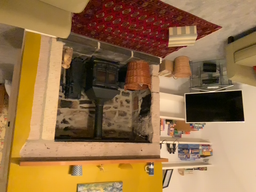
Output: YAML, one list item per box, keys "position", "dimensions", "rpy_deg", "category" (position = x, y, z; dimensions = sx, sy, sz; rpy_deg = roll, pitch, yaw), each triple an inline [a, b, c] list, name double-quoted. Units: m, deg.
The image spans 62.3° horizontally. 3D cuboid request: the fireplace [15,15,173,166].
- position: [-0.430, 0.070, 3.190]
  dimensions: [2.040, 1.690, 0.880]
  rpy_deg: [7, 166, -29]
  category: "fireplace"
